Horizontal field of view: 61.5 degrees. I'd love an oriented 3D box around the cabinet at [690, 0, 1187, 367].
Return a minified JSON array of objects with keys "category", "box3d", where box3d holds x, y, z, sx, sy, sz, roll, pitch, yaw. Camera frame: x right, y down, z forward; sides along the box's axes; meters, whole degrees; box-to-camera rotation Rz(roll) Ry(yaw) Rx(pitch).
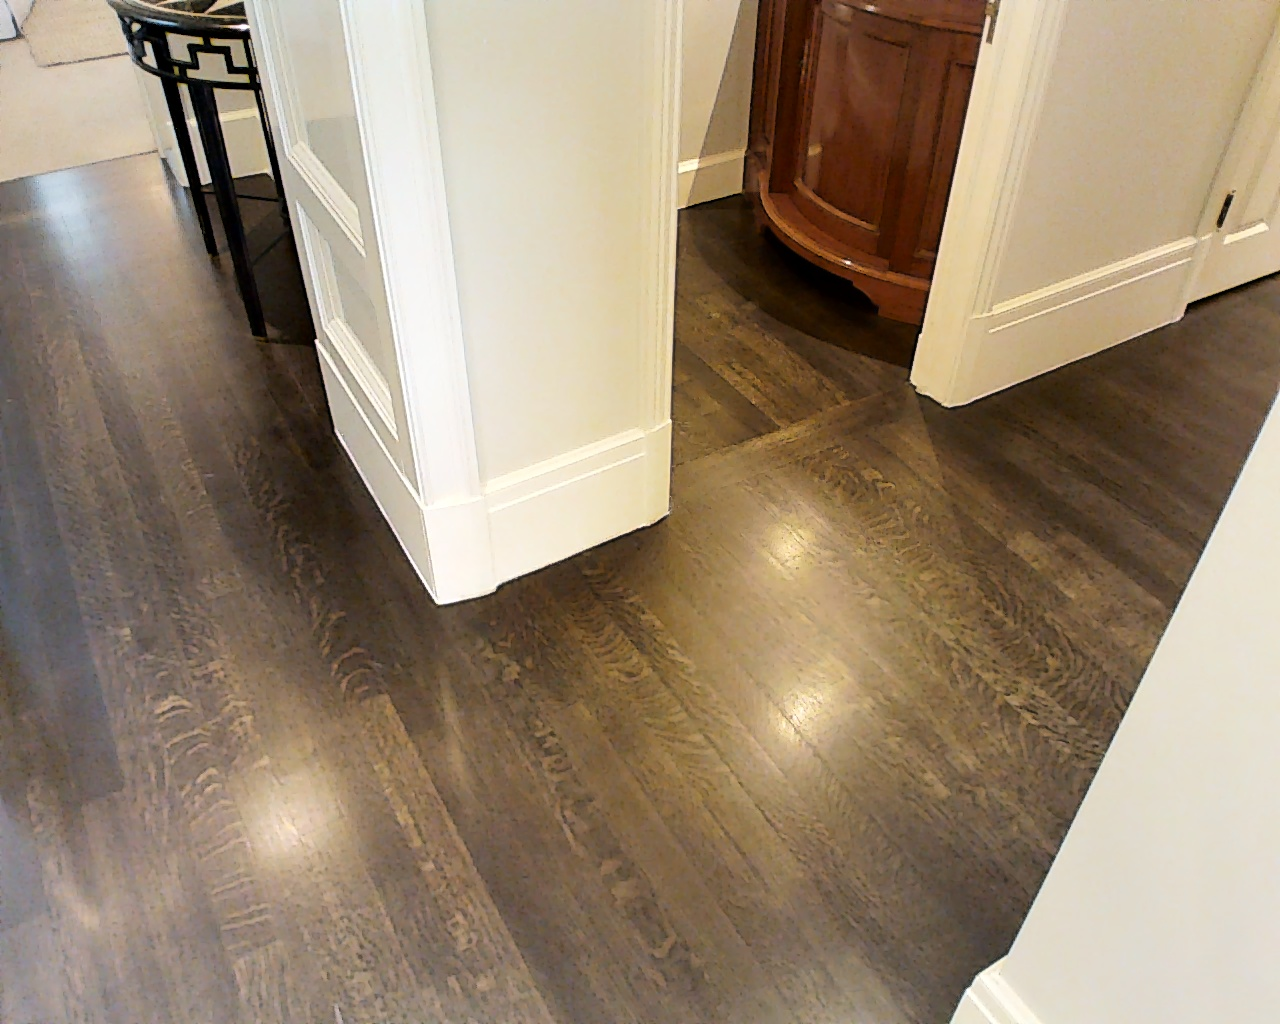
[{"category":"cabinet","box3d":[0.730,-1.190,3.020,0.620,0.980,1.160,-21,46,-22]}]
